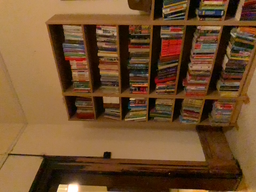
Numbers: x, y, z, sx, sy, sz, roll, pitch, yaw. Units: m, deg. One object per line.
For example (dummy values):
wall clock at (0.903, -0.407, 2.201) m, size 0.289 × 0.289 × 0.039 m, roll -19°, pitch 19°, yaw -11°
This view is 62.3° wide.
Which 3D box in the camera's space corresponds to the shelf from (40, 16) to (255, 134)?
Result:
shelf at (0.220, -0.170, 2.440) m, size 0.240 × 2.060 × 1.380 m, roll -86°, pitch -4°, yaw -54°
